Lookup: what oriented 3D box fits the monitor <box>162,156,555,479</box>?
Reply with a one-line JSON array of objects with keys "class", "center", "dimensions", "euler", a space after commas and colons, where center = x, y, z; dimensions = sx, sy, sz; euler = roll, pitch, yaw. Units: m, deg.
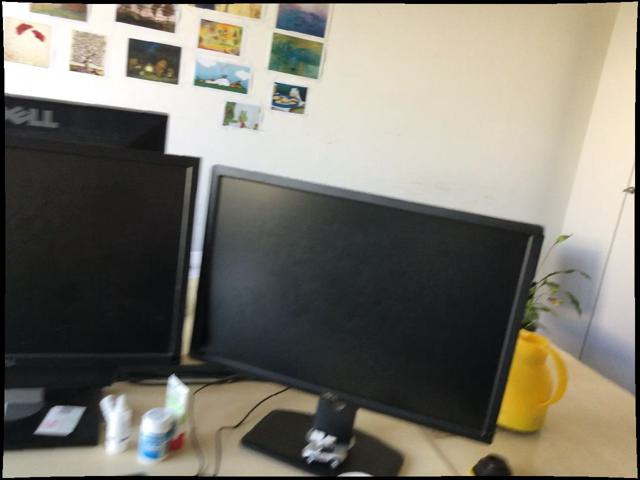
[{"class": "monitor", "center": [0.040, 0.150, 1.030], "dimensions": [0.599, 0.490, 0.160], "euler": [12, 15, 16]}]

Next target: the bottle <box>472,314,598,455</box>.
[{"class": "bottle", "center": [0.450, 0.300, 1.250], "dimensions": [0.190, 0.180, 0.220], "euler": [11, 15, 9]}]

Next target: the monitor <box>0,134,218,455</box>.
[{"class": "monitor", "center": [-0.539, 0.090, 0.940], "dimensions": [0.679, 0.510, 0.130], "euler": [3, 15, -20]}]
